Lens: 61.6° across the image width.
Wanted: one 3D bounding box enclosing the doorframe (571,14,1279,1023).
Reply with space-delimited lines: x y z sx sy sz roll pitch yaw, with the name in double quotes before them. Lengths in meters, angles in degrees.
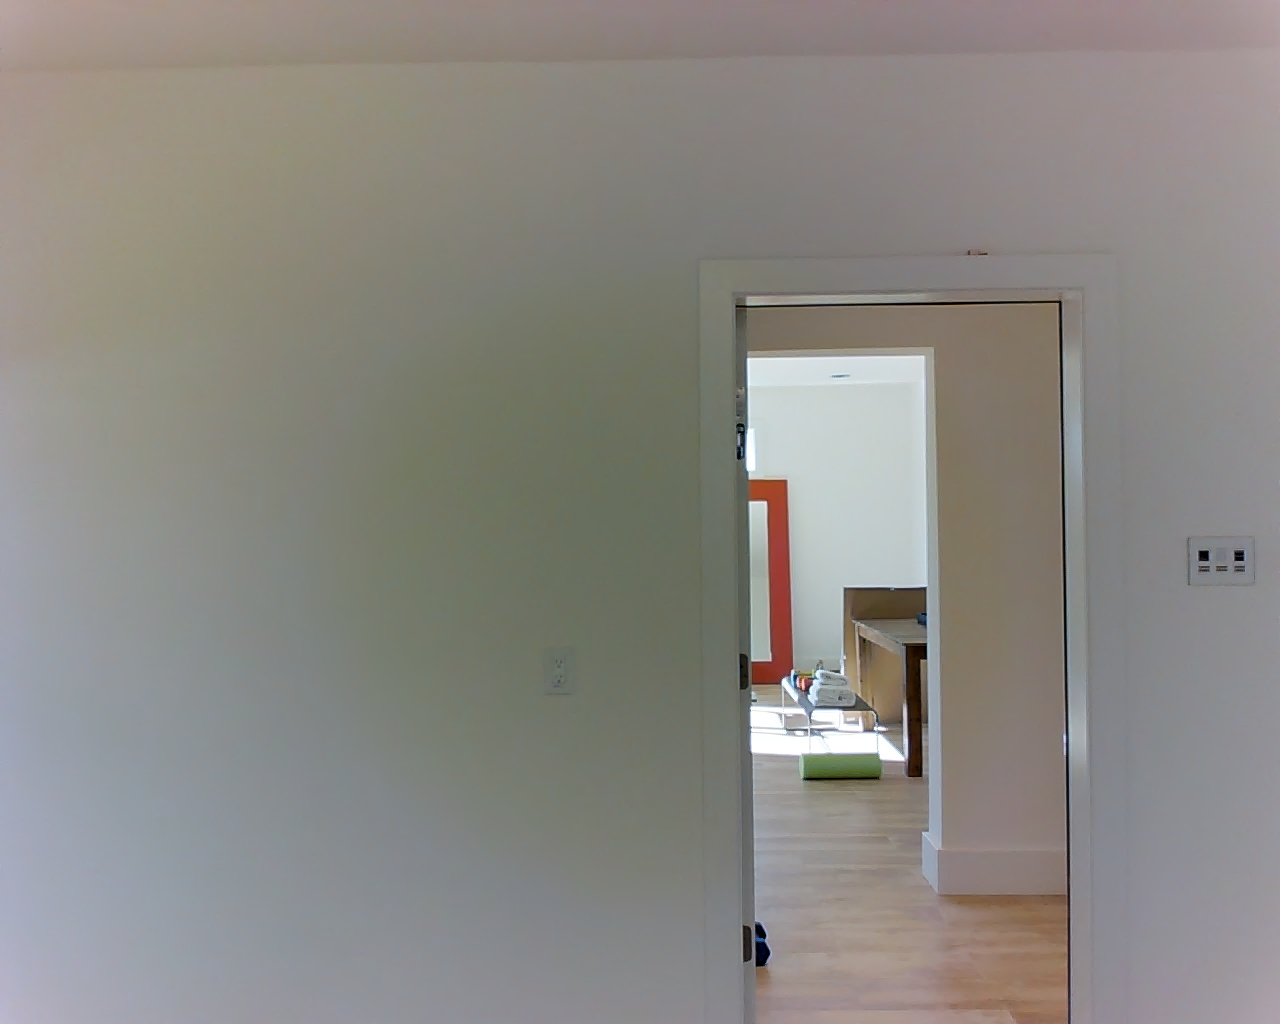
"doorframe" 1.180 0.160 2.820 2.680 2.820 0.210 -1 0 2
